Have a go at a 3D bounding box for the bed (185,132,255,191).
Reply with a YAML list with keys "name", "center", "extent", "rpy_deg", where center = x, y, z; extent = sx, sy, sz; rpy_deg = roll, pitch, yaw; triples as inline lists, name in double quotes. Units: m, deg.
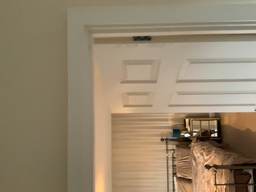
- name: "bed"
  center: [1.610, 1.620, 3.720]
  extent: [2.160, 0.650, 1.650]
  rpy_deg: [56, -147, -88]
